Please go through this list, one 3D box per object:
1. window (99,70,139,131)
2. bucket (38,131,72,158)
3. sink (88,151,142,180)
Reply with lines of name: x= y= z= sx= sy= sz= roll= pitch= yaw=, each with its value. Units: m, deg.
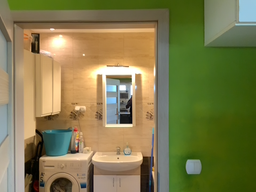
window: x=-0.130 y=0.060 z=2.960 sx=0.530 sy=0.820 sz=0.220 roll=0 pitch=0 yaw=-2
bucket: x=-0.950 y=0.630 z=2.800 sx=0.340 sy=0.290 sz=0.310 roll=1 pitch=0 yaw=1
sink: x=-0.150 y=0.880 z=2.740 sx=0.640 sy=0.210 sz=0.460 roll=1 pitch=0 yaw=1
